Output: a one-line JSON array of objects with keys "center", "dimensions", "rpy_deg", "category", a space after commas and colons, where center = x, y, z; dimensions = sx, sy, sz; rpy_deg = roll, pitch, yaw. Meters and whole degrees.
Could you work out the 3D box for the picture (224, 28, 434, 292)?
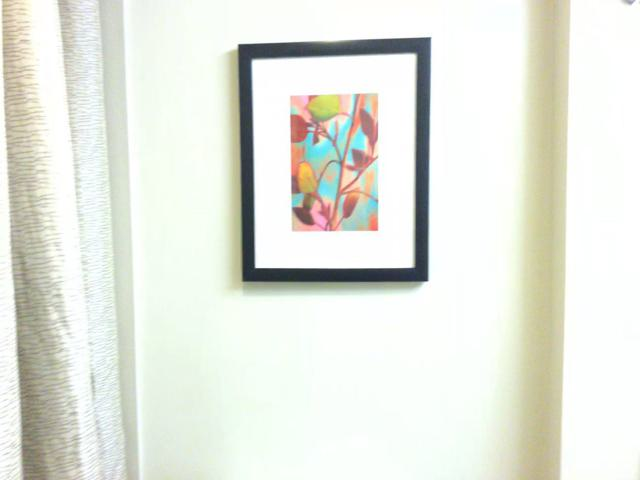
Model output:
[{"center": [0.020, -0.160, 1.230], "dimensions": [0.420, 0.530, 0.040], "rpy_deg": [-2, 4, 5], "category": "picture"}]
